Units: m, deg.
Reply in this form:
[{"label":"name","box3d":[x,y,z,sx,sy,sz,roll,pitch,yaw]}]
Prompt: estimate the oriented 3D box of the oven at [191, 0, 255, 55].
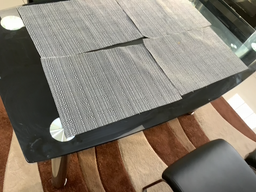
[{"label":"oven","box3d":[1.290,-1.010,2.310,0.610,0.770,0.640,-22,67,-30]}]
